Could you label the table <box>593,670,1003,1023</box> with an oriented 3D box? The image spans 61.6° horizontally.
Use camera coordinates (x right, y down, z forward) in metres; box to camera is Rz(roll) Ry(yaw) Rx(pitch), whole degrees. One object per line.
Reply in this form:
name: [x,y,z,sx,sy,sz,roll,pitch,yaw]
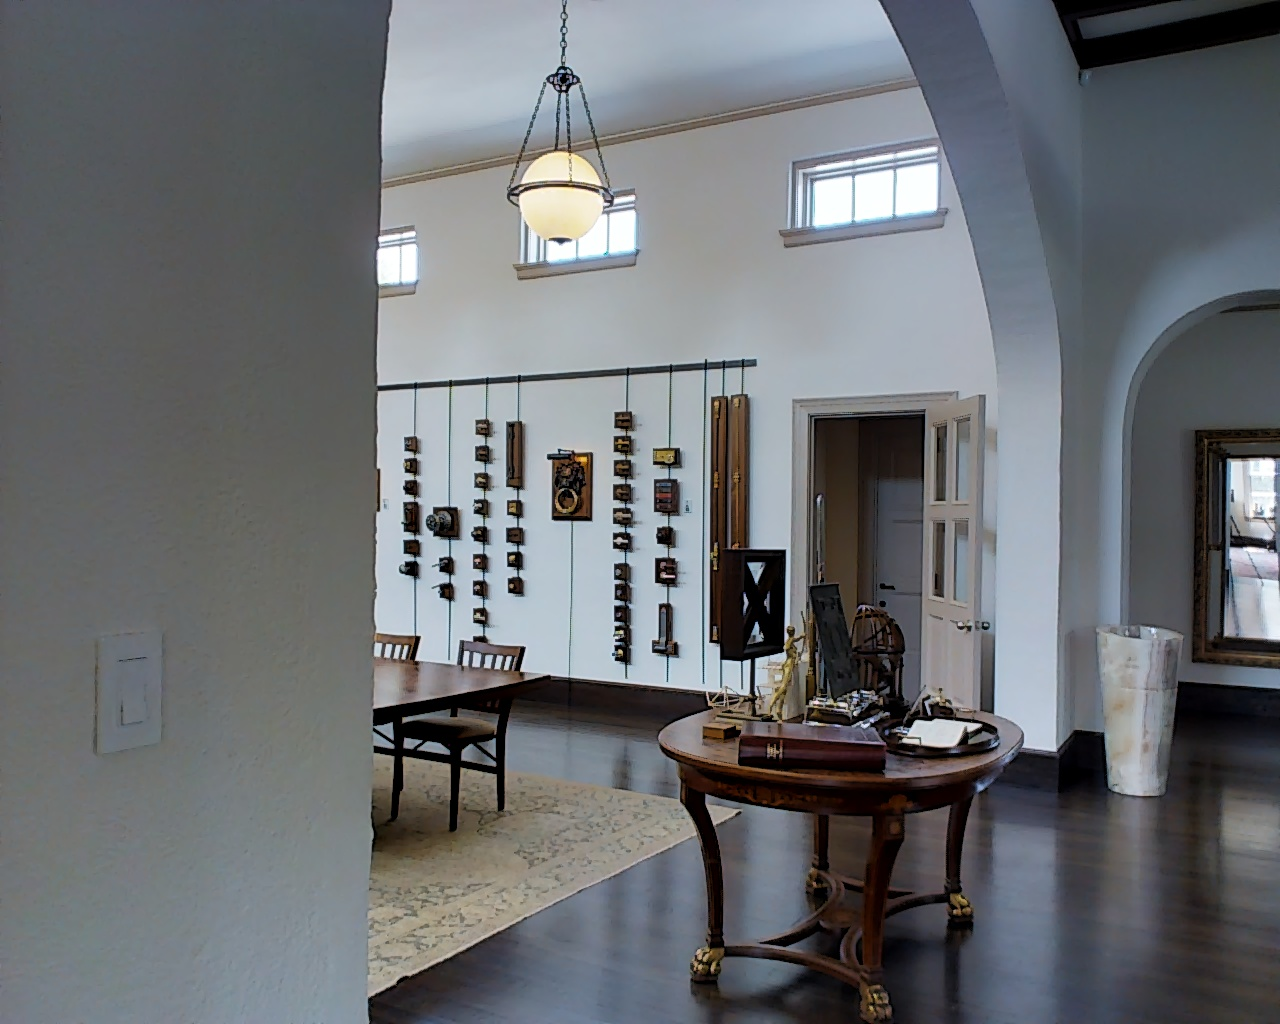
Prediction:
table: [0.660,1.110,3.920,0.960,0.800,1.560,0,0,30]
